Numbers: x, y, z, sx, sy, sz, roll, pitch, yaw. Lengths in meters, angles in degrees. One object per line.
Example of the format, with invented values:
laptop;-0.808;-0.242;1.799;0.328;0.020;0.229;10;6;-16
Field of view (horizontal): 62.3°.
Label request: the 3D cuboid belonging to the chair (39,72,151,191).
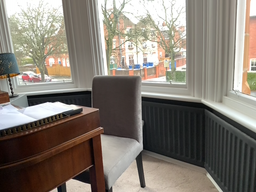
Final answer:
chair;-0.170;0.320;1.520;0.450;0.910;0.580;3;15;27
